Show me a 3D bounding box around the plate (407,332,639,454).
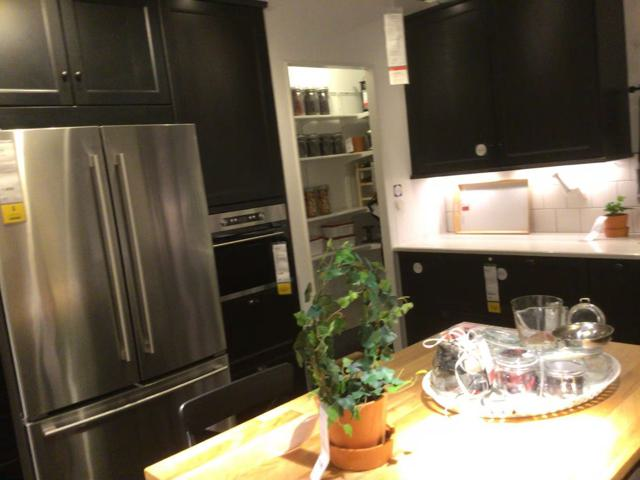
[{"bbox_3d":[0.530,0.350,1.440,0.510,0.050,0.370,-13,9,-38],"label":"plate"}]
